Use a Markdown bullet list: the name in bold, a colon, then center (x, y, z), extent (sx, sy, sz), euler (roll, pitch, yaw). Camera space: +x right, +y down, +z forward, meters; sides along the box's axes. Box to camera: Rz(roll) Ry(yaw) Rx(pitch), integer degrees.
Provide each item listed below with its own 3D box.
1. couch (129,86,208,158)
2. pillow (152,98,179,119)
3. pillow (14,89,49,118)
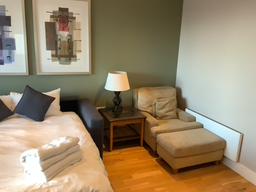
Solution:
- **couch**: center (0.600, 0.350, 3.520), extent (0.870, 0.860, 0.940), euler (-3, 14, -19)
- **pillow**: center (0.610, 0.200, 3.490), extent (0.390, 0.310, 0.150), euler (-2, 14, -16)
- **pillow**: center (-1.230, 0.090, 2.730), extent (0.360, 0.320, 0.180), euler (-2, 22, -16)
